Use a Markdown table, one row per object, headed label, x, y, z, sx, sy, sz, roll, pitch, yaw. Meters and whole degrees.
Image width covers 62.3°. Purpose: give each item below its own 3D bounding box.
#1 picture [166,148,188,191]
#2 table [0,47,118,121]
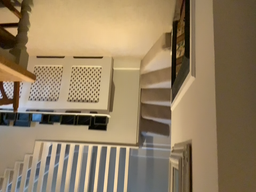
| label | x | y | z | sx | sy | sz | roll | pitch | yaw |
| --- | --- | --- | --- | --- | --- | --- | --- | --- | --- |
| picture | 0.310 | 0.670 | 1.400 | 0.060 | 0.630 | 0.620 | 2 | 167 | 5 |
| table | -1.210 | -0.200 | 3.090 | 2.060 | 1.020 | 0.180 | 2 | 167 | 7 |
